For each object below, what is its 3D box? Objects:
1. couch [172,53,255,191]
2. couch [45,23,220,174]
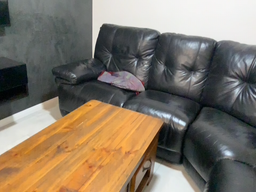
[{"bbox_3d":[0.910,0.220,1.520,0.940,0.960,0.410,-4,26,-20],"label":"couch"},{"bbox_3d":[0.050,-0.150,2.190,1.330,0.950,1.010,17,27,25],"label":"couch"}]
